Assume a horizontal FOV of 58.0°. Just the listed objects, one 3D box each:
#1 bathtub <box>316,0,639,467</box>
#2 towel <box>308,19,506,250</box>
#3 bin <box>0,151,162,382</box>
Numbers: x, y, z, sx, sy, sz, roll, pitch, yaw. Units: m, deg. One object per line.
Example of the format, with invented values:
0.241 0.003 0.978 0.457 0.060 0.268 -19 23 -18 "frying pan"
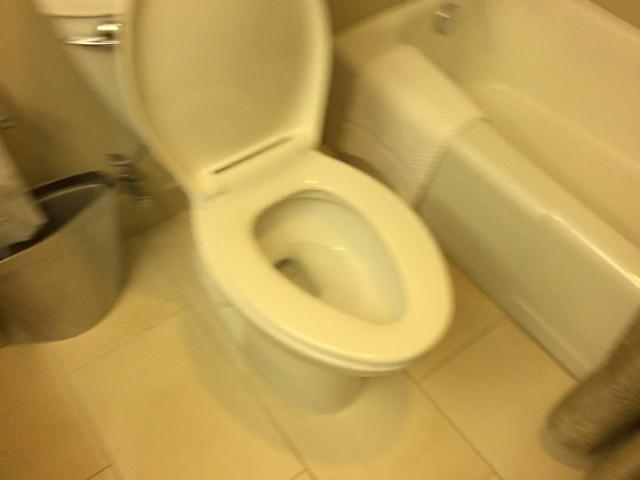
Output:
0.720 -0.100 1.350 0.750 0.390 1.440 -29 60 -22 "bathtub"
0.190 -0.270 1.480 0.230 0.360 0.410 -31 61 -23 "towel"
-0.550 0.060 1.190 0.330 0.330 0.190 -31 61 -23 "bin"
